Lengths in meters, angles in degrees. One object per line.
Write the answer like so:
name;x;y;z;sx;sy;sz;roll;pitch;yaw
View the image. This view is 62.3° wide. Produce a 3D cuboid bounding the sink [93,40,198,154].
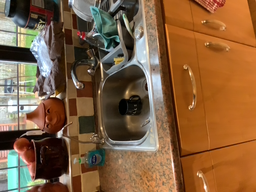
sink;0.040;0.040;1.040;0.520;0.190;0.420;-17;76;55
